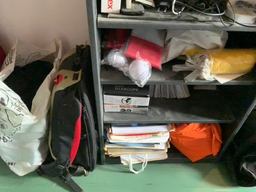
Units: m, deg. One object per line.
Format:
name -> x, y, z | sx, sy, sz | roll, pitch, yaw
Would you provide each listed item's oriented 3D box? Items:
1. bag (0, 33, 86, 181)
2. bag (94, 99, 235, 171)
bag -> -0.390, 0.040, 0.940 | 0.300, 0.420, 0.490 | 2, 45, -2
bag -> 0.130, 0.180, 0.950 | 0.530, 0.260, 0.200 | 1, 45, -3
